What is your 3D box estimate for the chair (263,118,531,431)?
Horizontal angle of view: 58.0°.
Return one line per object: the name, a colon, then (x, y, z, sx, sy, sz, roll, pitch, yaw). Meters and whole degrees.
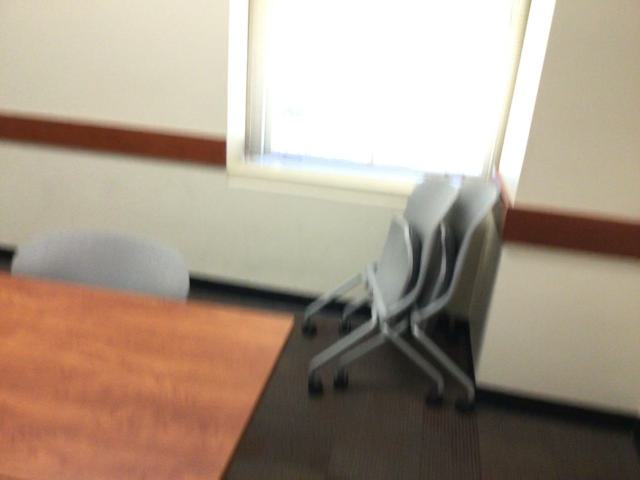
chair: (0.270, 0.090, 2.290, 0.780, 0.940, 0.650, 9, 22, 7)
